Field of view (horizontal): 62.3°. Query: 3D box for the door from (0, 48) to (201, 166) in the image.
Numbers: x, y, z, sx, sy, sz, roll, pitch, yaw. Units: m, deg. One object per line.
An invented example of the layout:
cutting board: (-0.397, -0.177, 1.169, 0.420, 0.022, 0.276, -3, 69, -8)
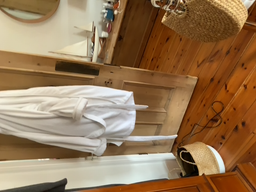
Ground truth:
door: (-0.350, 0.140, 1.680, 0.110, 1.970, 0.840, -130, 50, -56)
